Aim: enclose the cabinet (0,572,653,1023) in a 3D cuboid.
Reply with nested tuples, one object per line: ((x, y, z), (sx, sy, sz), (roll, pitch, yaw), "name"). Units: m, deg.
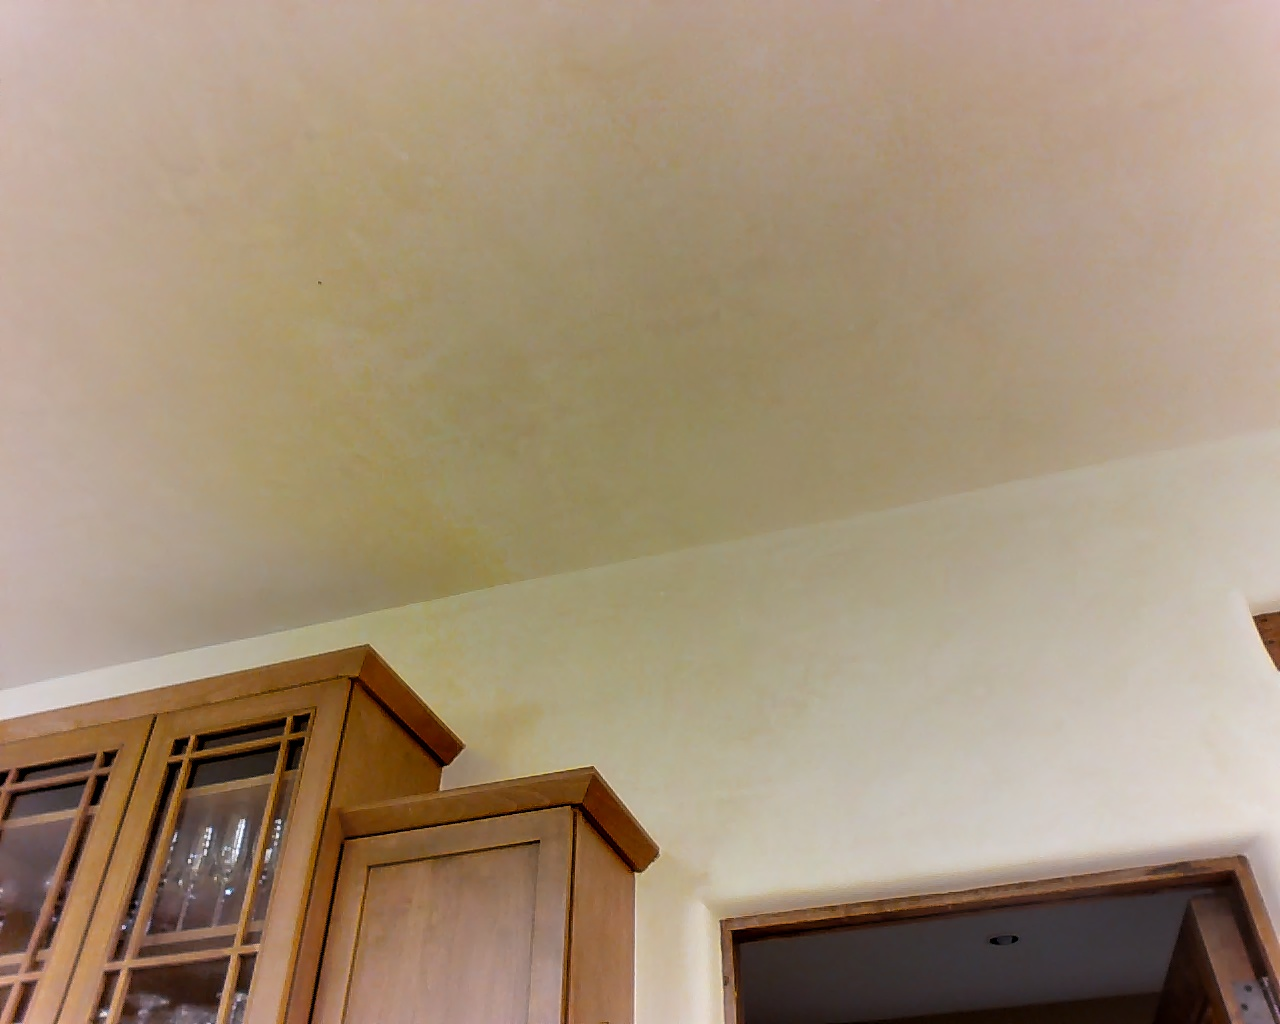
((-0.920, 0.991, 1.920), (1.839, 1.470, 0.440), (-12, -43, 13), "cabinet")
